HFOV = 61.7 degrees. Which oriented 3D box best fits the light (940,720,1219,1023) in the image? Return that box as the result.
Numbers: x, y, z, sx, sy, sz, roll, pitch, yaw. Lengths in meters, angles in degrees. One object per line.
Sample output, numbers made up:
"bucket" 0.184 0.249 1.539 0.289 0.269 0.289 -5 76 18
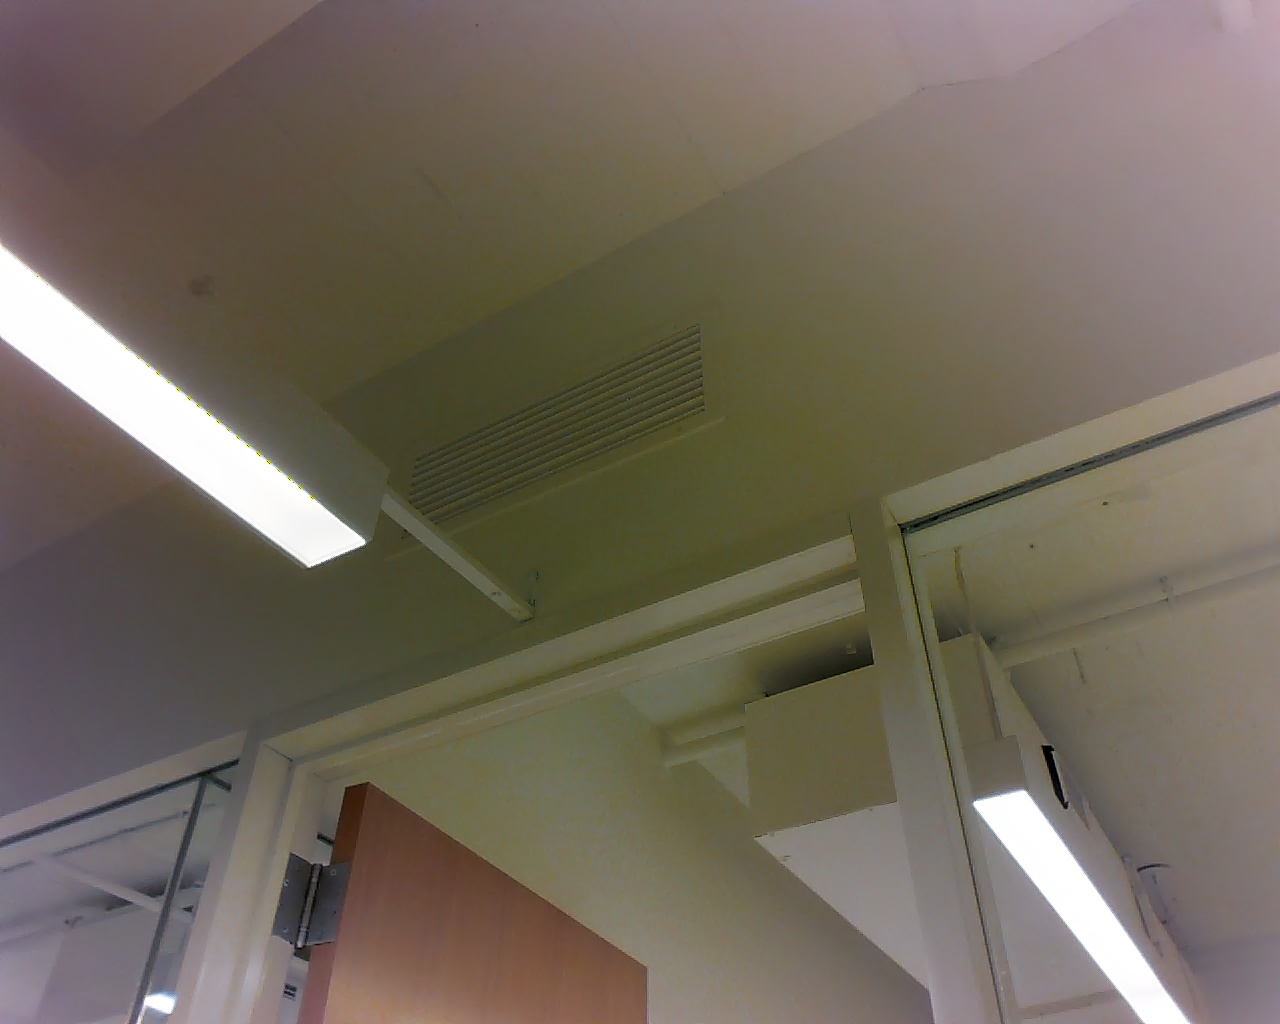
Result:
"light" 1.229 1.151 2.580 0.170 0.130 2.510 -21 -46 23
